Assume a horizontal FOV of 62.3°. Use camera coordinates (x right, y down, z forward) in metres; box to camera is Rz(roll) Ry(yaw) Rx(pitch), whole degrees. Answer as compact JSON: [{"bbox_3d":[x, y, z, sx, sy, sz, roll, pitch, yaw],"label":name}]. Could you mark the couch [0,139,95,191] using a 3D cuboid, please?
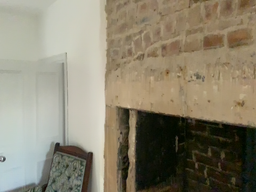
[{"bbox_3d":[-0.830,0.970,1.900,0.720,0.900,0.760,5,5,35],"label":"couch"}]
